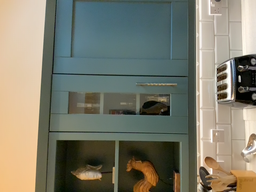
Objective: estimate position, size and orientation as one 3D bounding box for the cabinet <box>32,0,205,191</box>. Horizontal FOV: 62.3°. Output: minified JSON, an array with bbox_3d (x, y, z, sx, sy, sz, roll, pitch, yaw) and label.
[{"bbox_3d":[-0.040,0.070,1.250,0.340,0.850,1.360,97,174,-85],"label":"cabinet"}]
